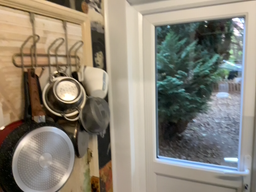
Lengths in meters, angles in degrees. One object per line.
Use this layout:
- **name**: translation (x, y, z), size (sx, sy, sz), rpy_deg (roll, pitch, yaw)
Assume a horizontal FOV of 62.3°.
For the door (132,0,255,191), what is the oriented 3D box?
- **door**: translation (0.390, 0.410, 1.390), size (0.710, 1.870, 0.050), rpy_deg (2, 9, 25)
